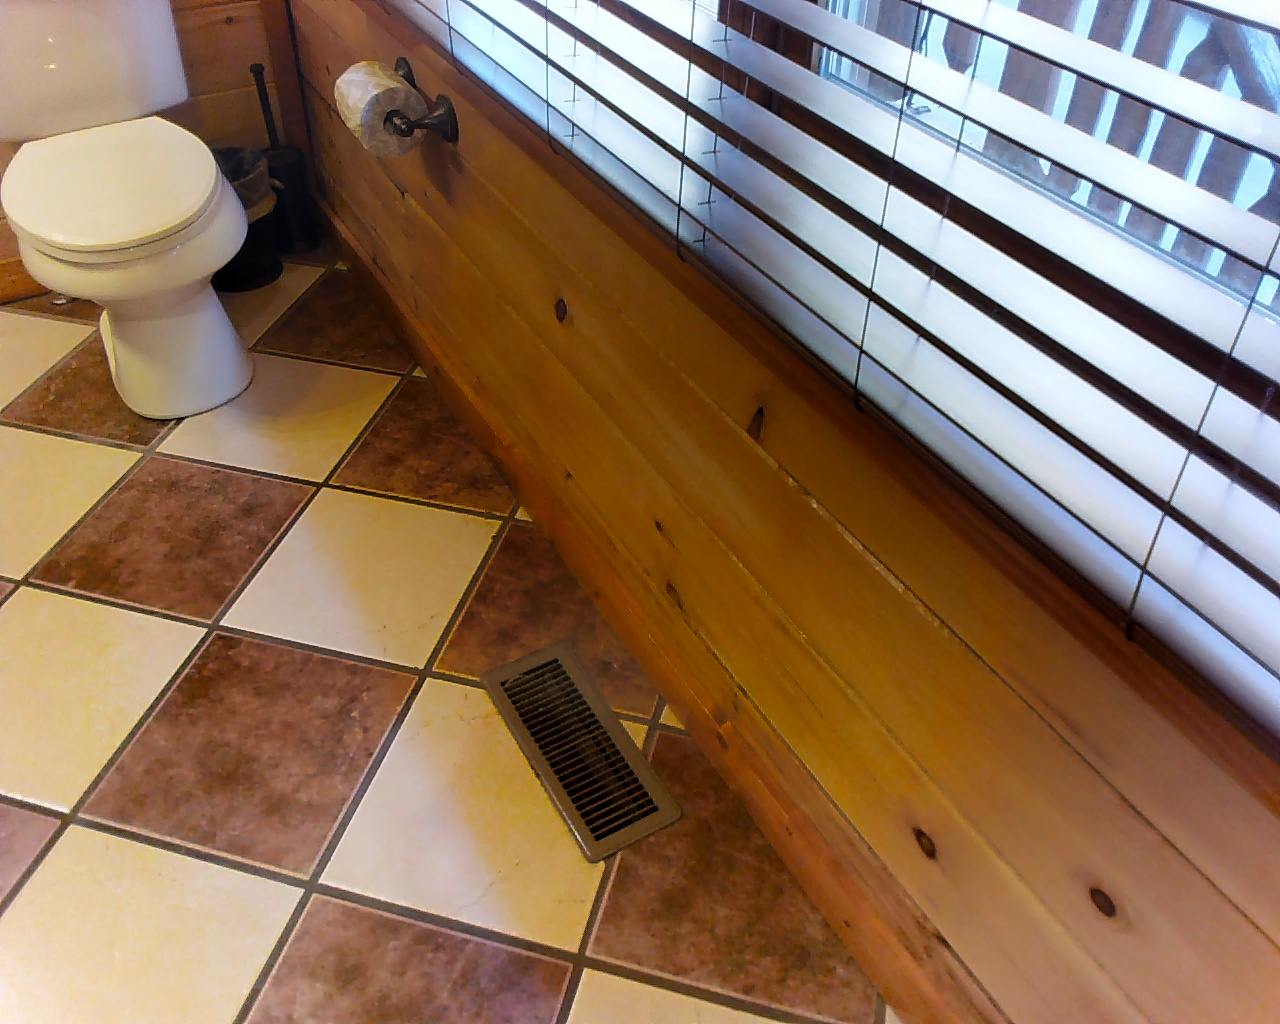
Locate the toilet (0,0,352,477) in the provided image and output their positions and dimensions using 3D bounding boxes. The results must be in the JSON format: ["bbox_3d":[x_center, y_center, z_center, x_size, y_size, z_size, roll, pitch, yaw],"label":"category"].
[{"bbox_3d":[-0.950,-0.630,1.940,0.520,0.710,0.760,-20,46,-22],"label":"toilet"}]
